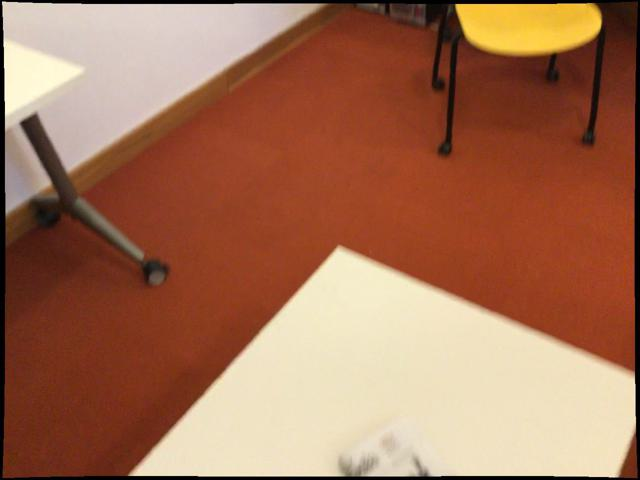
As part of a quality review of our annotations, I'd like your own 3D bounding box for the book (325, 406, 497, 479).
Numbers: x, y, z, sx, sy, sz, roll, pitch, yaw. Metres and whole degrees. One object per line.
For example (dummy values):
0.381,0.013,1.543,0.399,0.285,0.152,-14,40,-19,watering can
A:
0.140,0.400,0.920,0.230,0.030,0.180,26,54,27,book
